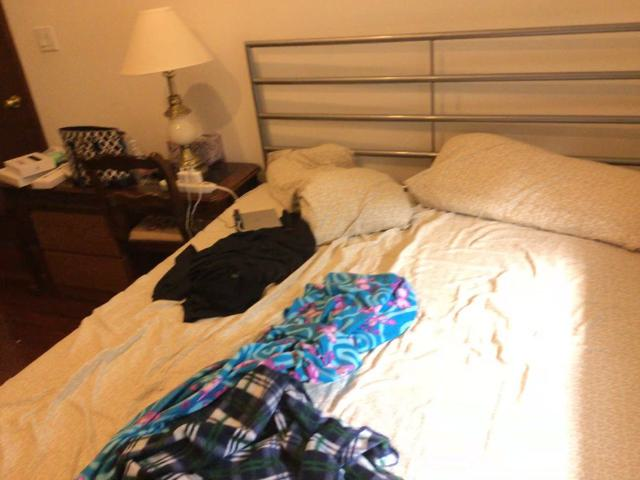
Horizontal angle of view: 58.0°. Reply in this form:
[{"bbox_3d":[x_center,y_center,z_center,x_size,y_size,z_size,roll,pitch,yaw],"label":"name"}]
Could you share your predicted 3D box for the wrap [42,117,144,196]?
[{"bbox_3d":[-0.960,-0.360,2.460,0.320,0.280,0.160,6,30,22],"label":"wrap"}]
